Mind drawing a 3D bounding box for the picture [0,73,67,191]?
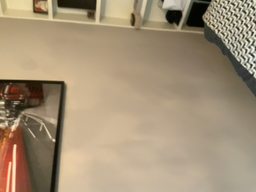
[{"bbox_3d":[-0.670,0.220,1.070,1.010,0.640,0.050,-102,18,-45],"label":"picture"}]

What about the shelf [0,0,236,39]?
[{"bbox_3d":[-0.230,-1.080,2.020,0.220,2.740,0.820,-103,19,-47],"label":"shelf"}]
